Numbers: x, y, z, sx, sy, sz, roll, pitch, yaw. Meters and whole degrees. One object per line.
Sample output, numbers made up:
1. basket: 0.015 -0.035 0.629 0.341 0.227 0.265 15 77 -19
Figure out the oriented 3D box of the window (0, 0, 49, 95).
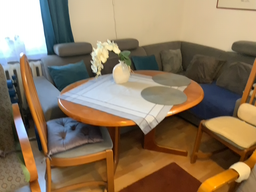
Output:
1. window: -1.300 -0.980 1.970 0.820 2.020 0.160 -15 29 -32
